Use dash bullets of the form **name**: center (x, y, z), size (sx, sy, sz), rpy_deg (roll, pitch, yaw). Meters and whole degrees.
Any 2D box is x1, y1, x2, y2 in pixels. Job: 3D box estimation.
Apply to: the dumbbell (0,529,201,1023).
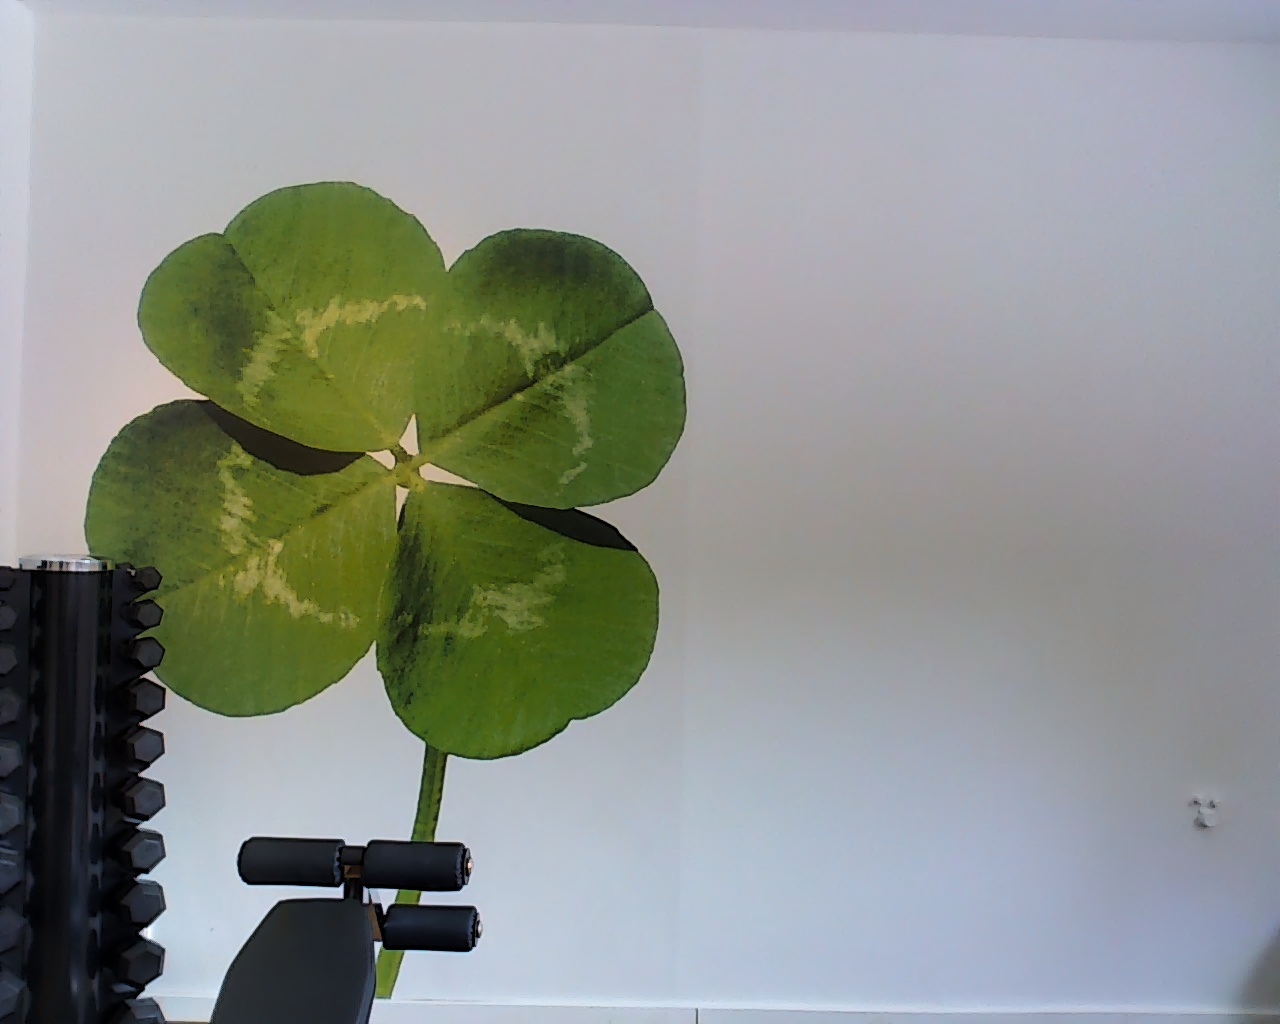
- **dumbbell**: center (-1.390, 0.710, 2.600), size (0.410, 1.330, 0.460), rpy_deg (1, -1, 45)
